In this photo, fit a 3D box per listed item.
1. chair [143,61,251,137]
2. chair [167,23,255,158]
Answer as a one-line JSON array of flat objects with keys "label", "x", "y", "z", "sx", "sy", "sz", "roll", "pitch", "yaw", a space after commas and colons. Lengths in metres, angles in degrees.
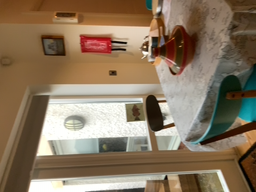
[{"label": "chair", "x": 0.610, "y": 0.040, "z": 2.130, "sx": 0.540, "sy": 0.790, "sz": 0.520, "roll": 99, "pitch": 168, "yaw": -51}, {"label": "chair", "x": 0.720, "y": -0.030, "z": 1.190, "sx": 0.500, "sy": 0.800, "sz": 0.520, "roll": 98, "pitch": 169, "yaw": -45}]
